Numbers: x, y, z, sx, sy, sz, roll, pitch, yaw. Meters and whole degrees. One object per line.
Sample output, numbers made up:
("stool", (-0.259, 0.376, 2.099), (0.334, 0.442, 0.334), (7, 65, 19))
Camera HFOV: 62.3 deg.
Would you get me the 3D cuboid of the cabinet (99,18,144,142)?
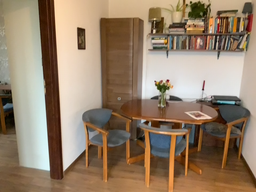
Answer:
("cabinet", (-0.110, -0.260, 3.640), (0.620, 1.980, 0.450), (5, 14, 14))
